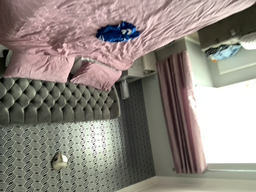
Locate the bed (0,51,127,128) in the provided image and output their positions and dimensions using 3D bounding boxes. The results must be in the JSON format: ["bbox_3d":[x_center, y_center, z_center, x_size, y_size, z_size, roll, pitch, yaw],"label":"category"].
[{"bbox_3d":[-0.840,-0.040,2.680,1.850,0.760,0.320,2,167,-43],"label":"bed"}]

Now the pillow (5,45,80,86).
[{"bbox_3d":[-0.940,-0.310,2.360,0.380,0.260,0.660,-16,167,43],"label":"pillow"}]

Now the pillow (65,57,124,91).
[{"bbox_3d":[-0.440,-0.270,2.880,0.400,0.300,0.660,-16,167,42],"label":"pillow"}]
